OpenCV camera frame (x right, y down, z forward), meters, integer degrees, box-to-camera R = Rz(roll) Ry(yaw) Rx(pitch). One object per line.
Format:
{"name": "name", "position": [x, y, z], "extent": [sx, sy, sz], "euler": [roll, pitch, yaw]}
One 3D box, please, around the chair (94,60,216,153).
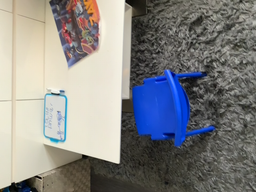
{"name": "chair", "position": [0.150, 0.060, 1.040], "extent": [0.420, 0.410, 0.330], "euler": [-10, 87, 31]}
